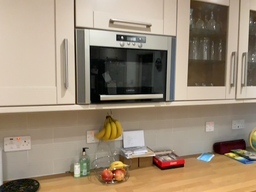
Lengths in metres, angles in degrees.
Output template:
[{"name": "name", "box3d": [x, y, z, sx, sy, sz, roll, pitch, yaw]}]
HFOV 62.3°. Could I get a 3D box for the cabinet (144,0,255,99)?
[{"name": "cabinet", "box3d": [0.660, -0.360, 1.660, 1.010, 0.720, 0.330, -1, 4, -22]}]
